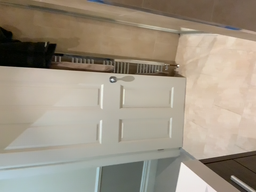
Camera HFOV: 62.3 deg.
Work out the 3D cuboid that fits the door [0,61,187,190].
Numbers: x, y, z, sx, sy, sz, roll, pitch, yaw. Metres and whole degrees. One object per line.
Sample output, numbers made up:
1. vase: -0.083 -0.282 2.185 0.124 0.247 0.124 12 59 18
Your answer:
1. door: -0.330 0.220 1.890 0.170 1.990 0.930 -171 82 -64
